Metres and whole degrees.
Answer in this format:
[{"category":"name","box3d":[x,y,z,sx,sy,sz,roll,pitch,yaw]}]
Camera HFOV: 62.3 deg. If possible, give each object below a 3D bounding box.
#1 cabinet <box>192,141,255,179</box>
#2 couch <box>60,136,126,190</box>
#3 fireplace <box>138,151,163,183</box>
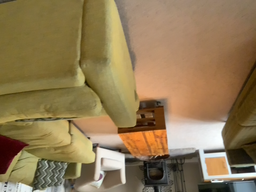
[{"category":"cabinet","box3d":[1.930,1.330,4.340,1.070,0.580,0.530,-7,151,9]},{"category":"couch","box3d":[-0.640,1.320,4.040,0.840,0.750,0.840,-25,143,36]},{"category":"fireplace","box3d":[0.510,1.570,4.670,0.480,0.560,0.520,-5,151,7]}]
